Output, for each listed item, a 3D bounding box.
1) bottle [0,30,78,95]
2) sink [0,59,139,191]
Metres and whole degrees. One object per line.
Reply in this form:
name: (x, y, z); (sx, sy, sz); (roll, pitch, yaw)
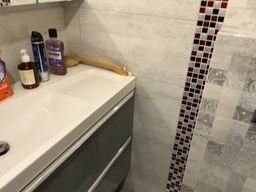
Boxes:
bottle: (-0.410, -0.180, 1.010); (0.100, 0.180, 0.400); (15, 31, 21)
sink: (-0.370, 0.090, 0.820); (0.450, 0.110, 0.990); (16, 32, 22)
